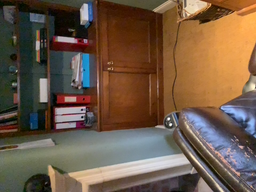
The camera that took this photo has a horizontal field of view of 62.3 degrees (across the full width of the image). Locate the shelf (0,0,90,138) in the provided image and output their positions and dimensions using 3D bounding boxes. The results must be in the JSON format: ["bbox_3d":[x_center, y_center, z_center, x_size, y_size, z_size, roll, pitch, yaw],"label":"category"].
[{"bbox_3d":[-1.080,-0.310,2.150,0.250,1.320,1.380,-1,90,62],"label":"shelf"}]
